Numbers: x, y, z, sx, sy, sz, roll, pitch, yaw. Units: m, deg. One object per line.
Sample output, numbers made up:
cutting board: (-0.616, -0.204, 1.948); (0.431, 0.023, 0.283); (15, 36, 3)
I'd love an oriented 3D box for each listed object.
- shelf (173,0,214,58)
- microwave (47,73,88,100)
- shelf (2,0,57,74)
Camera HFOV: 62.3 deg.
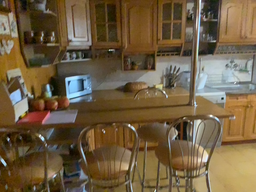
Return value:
shelf: (1.000, -1.050, 3.310); (0.500, 0.860, 0.270); (-3, 14, -7)
microwave: (-0.860, -0.160, 3.120); (0.480, 0.270, 0.550); (-3, 14, -8)
shelf: (-0.930, -0.680, 2.030); (0.340, 0.890, 0.300); (-3, 14, -7)
